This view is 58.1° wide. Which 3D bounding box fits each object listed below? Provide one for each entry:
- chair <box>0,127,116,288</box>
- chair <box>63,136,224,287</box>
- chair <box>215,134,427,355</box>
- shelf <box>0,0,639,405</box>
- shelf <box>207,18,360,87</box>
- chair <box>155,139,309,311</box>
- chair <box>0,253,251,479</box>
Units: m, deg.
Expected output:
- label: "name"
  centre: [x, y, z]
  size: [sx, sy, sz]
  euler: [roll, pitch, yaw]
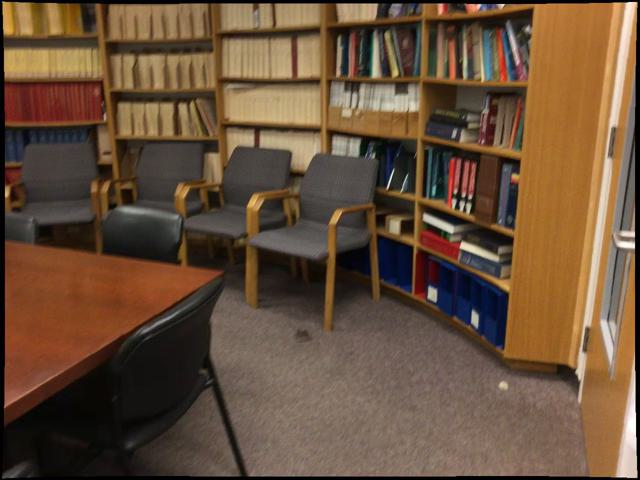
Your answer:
- label: "chair"
  centre: [-1.895, -0.271, 4.070]
  size: [0.698, 0.832, 0.870]
  euler: [-6, 24, -13]
- label: "chair"
  centre: [-1.207, -0.241, 4.160]
  size: [0.708, 0.792, 0.850]
  euler: [5, 25, 11]
- label: "chair"
  centre: [0.030, -0.050, 3.460]
  size: [0.849, 0.932, 0.930]
  euler: [13, 25, 30]
- label: "shelf"
  centre: [-0.818, -0.912, 3.610]
  size: [4.869, 2.395, 1.530]
  euler: [7, 22, 17]
- label: "shelf"
  centre: [-0.249, -1.273, 3.850]
  size: [0.918, 0.381, 0.440]
  euler: [13, 25, 30]
- label: "chair"
  centre: [-0.539, -0.140, 3.810]
  size: [0.659, 0.852, 0.710]
  euler: [11, 26, 25]
- label: "chair"
  centre: [-0.608, 0.551, 1.770]
  size: [0.579, 0.802, 0.510]
  euler: [11, 24, 25]
